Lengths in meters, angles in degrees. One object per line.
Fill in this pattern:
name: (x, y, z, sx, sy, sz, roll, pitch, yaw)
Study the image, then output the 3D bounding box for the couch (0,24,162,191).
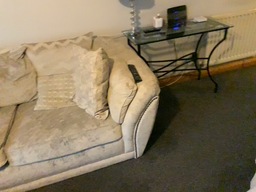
couch: (-0.940, 0.100, 1.700, 2.150, 0.770, 1.020, -13, 35, -13)
